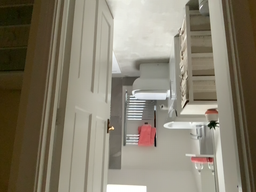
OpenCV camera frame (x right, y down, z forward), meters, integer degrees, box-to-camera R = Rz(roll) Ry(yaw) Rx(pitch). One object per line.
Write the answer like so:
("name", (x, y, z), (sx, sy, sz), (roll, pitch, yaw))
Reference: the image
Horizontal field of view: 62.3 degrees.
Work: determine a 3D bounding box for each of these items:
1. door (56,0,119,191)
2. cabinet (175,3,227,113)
("door", (-0.220, 0.140, 1.430), (0.090, 2.060, 0.710), (-2, 165, 11))
("cabinet", (0.590, -0.300, 1.830), (0.280, 0.840, 0.410), (0, 166, 4))
